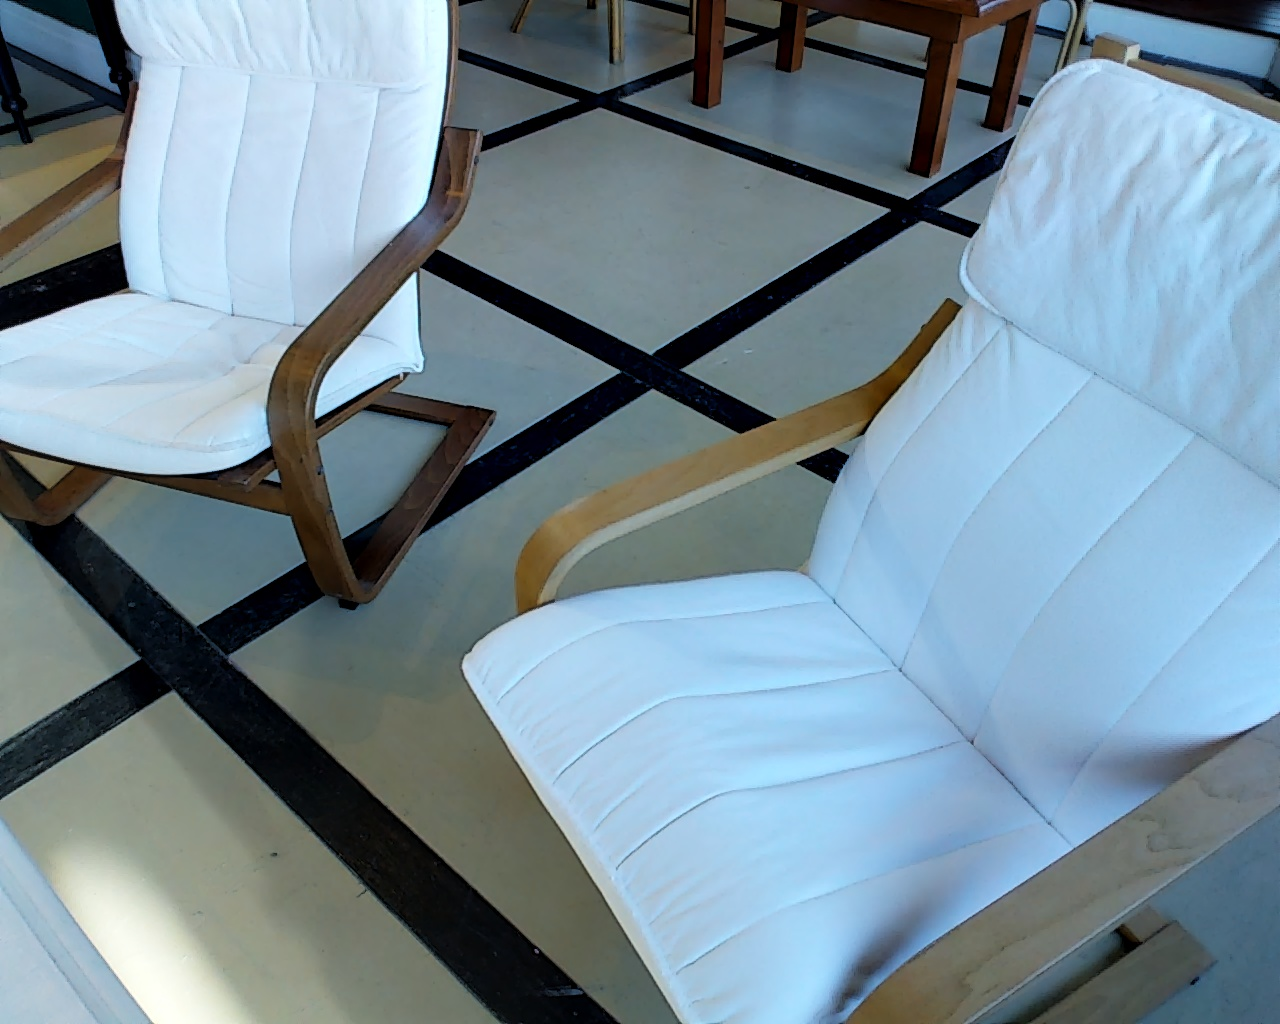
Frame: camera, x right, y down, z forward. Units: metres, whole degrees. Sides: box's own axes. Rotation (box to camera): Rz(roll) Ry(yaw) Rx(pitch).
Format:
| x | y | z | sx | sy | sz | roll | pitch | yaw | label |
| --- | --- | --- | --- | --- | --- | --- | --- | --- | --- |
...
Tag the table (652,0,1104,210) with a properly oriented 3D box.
| x | y | z | sx | sy | sz | roll | pitch | yaw | label |
| --- | --- | --- | --- | --- | --- | --- | --- | --- | --- |
| 0.710 | -1.470 | 3.340 | 1.100 | 0.520 | 0.780 | 30 | 49 | 31 | table |
